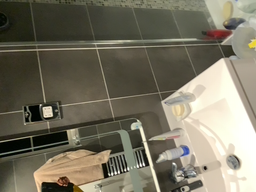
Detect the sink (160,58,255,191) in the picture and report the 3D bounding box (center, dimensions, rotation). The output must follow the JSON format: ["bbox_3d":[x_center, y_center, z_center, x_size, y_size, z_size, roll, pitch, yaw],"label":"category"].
[{"bbox_3d":[0.400,0.280,0.880,0.450,0.130,0.730,132,126,-60],"label":"sink"}]
